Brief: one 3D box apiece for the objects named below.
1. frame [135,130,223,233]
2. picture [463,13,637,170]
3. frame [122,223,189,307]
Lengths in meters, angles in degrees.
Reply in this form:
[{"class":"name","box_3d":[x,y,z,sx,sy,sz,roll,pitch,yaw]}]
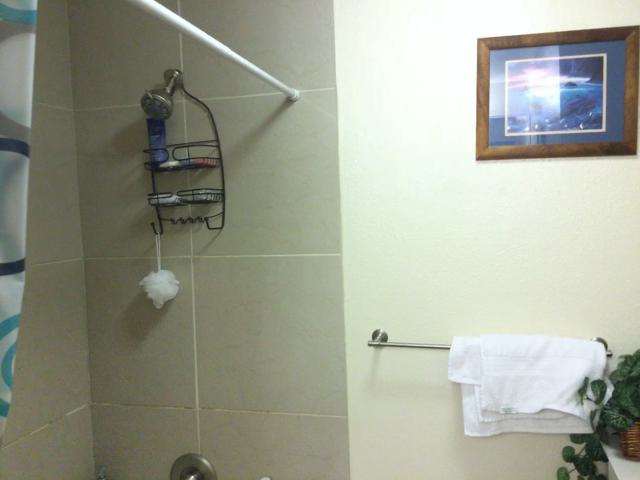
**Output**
[{"class":"frame","box_3d":[-0.450,-0.180,1.850,0.260,0.310,0.080,-2,0,17]},{"class":"picture","box_3d":[0.610,-0.390,1.560,0.420,0.370,0.050,-2,0,17]},{"class":"frame","box_3d":[-0.530,0.080,1.870,0.170,0.260,0.110,-2,0,17]}]
